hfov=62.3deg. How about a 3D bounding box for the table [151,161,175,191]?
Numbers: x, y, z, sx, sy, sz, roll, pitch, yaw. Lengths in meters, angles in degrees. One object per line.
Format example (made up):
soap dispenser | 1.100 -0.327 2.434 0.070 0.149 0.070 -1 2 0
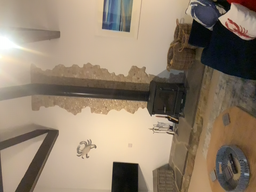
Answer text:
table | 0.690 1.770 4.260 0.480 0.330 0.790 106 167 -58
